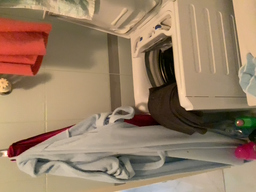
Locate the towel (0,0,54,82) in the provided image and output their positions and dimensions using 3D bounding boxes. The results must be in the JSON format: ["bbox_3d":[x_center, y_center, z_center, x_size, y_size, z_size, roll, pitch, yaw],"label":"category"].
[{"bbox_3d":[-0.550,-0.210,0.810,0.170,0.480,0.260,-22,70,61],"label":"towel"}]

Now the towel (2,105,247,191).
[{"bbox_3d":[0.110,0.230,1.120,0.200,1.320,0.350,-8,83,62],"label":"towel"}]
